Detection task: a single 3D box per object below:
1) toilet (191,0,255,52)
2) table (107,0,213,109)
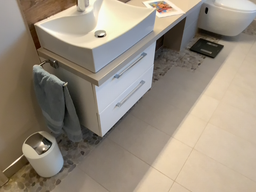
[{"bbox_3d":[1.160,-0.920,2.550,0.560,0.500,0.390,27,51,24],"label":"toilet"},{"bbox_3d":[0.310,-0.510,1.950,0.450,0.740,0.940,28,51,25],"label":"table"}]
